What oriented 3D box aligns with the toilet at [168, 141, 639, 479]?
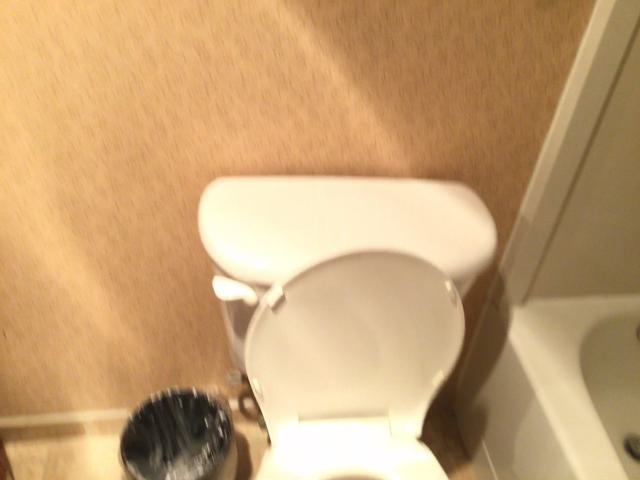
[{"bbox_3d":[0.070,0.360,0.950,0.480,0.770,0.680,-4,40,-6],"label":"toilet"}]
